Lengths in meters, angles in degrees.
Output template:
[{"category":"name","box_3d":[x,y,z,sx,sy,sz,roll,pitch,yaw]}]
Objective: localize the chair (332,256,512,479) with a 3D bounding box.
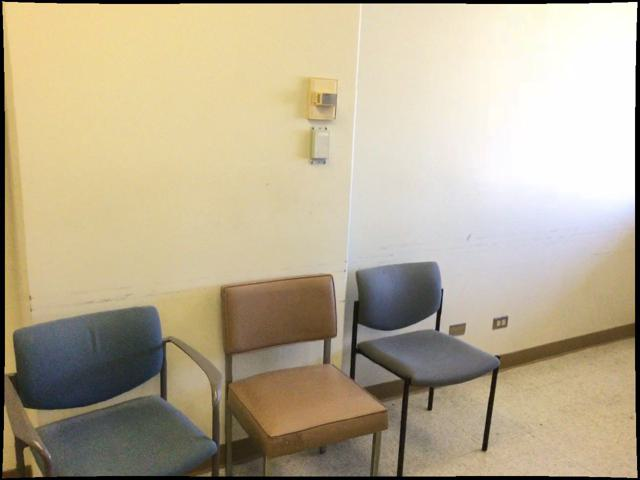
[{"category":"chair","box_3d":[0.419,0.551,2.600,0.479,0.772,0.630,-6,16,-26]}]

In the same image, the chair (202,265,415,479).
[{"category":"chair","box_3d":[-0.070,0.592,2.190,0.559,0.802,0.600,-7,16,-28]}]

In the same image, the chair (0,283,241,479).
[{"category":"chair","box_3d":[-0.708,0.612,1.920,0.619,0.662,0.739,-9,17,-33]}]
